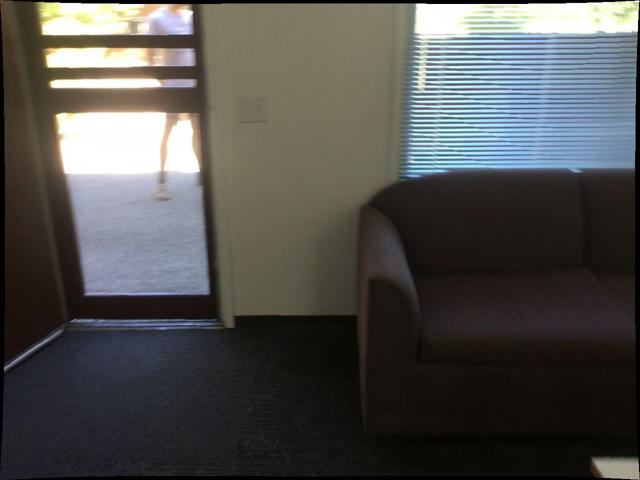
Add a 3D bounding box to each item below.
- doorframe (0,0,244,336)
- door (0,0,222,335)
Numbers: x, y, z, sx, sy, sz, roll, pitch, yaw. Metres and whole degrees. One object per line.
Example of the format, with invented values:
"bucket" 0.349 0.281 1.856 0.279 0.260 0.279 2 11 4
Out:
"doorframe" -0.879 -0.531 2.480 0.938 2.013 0.230 -1 21 1
"door" -0.909 -0.501 2.500 0.769 1.943 0.240 -1 21 2
